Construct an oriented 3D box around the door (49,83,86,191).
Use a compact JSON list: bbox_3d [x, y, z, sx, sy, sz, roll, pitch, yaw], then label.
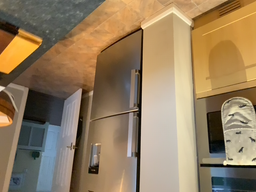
[{"bbox_3d":[-1.040,0.890,3.560,0.120,2.050,0.950,13,159,-29],"label":"door"}]
